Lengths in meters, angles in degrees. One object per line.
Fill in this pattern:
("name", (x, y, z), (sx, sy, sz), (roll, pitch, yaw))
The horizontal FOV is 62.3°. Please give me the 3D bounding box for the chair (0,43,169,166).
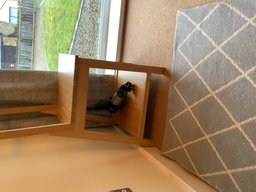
("chair", (-0.540, 0.000, 0.960), (0.440, 1.400, 0.450), (22, 108, 60))
